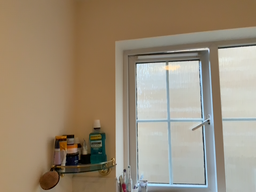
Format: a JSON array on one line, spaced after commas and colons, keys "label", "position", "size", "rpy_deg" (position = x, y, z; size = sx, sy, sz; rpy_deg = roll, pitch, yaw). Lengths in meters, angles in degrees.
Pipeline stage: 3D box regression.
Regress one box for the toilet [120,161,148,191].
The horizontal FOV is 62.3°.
[{"label": "toilet", "position": [0.040, 0.520, 1.260], "size": [0.130, 0.220, 0.170], "rpy_deg": [-2, -7, 15]}]
